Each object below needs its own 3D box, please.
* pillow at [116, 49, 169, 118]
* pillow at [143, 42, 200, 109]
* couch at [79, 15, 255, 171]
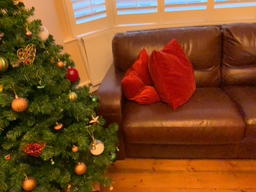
[{"bbox_3d":[0.120,-0.100,1.690,0.200,0.350,0.380,32,42,-11],"label":"pillow"},{"bbox_3d":[0.330,-0.160,1.620,0.190,0.360,0.350,33,41,7],"label":"pillow"},{"bbox_3d":[0.810,-0.090,1.760,2.050,0.830,1.050,-2,34,6],"label":"couch"}]
